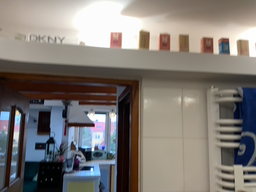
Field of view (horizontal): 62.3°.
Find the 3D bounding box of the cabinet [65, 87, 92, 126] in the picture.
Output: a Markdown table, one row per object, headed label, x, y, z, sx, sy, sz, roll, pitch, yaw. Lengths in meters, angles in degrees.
| label | x | y | z | sx | sy | sz | roll | pitch | yaw |
| --- | --- | --- | --- | --- | --- | --- | --- | --- | --- |
| cabinet | -1.140 | 0.280 | 5.040 | 0.530 | 0.850 | 0.750 | 2 | -8 | -8 |
